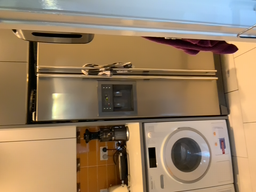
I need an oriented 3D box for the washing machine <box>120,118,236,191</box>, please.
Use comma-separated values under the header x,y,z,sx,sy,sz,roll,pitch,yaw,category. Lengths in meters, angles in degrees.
x,y,z,sx,sy,sz,roll,pitch,yaw,category
0.450,0.560,2.210,0.690,0.910,0.580,146,122,-72,washing machine
